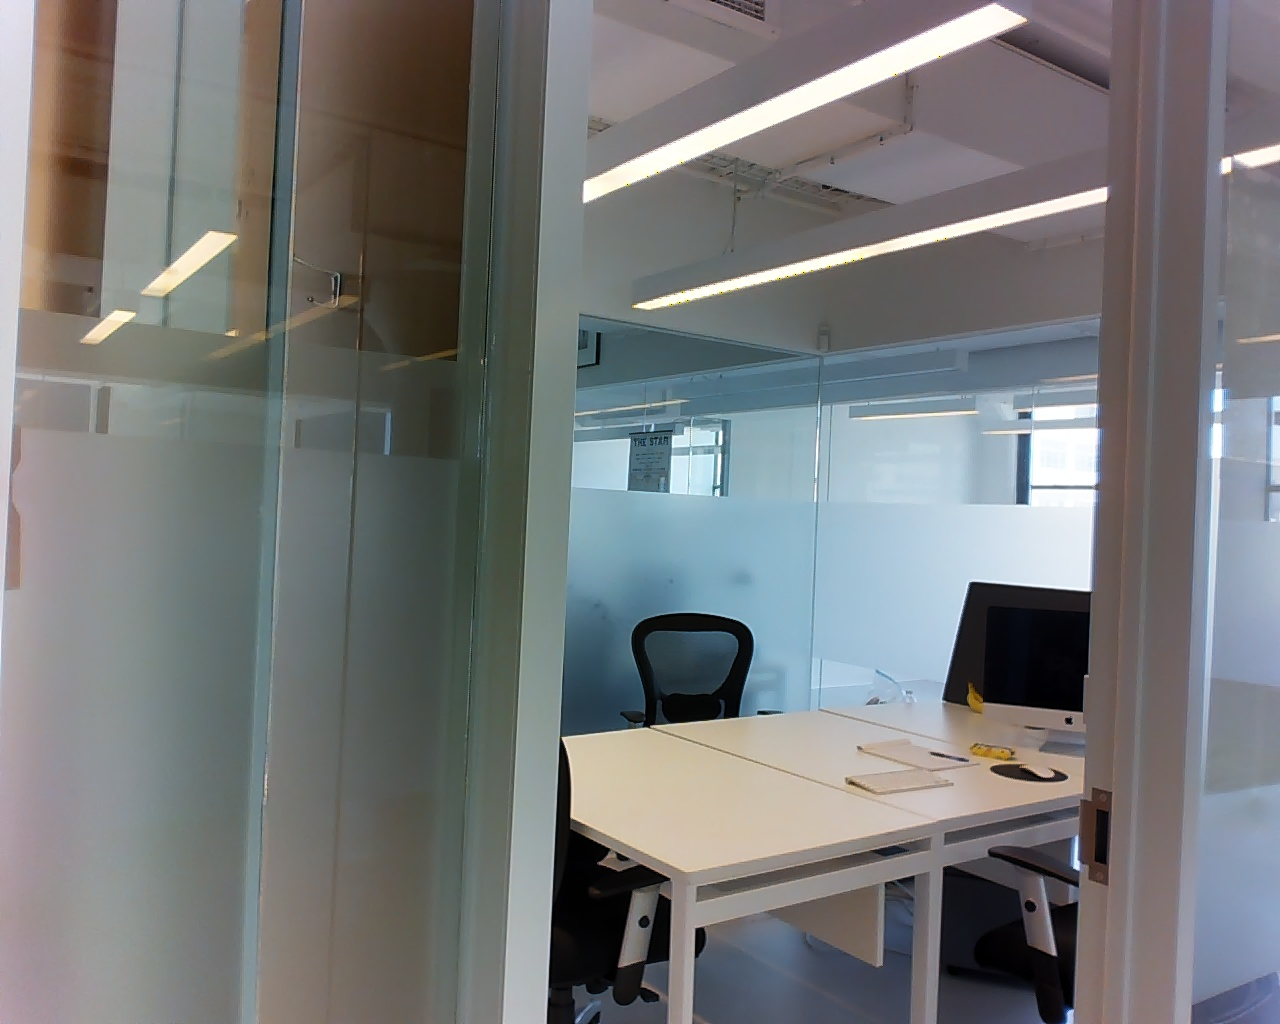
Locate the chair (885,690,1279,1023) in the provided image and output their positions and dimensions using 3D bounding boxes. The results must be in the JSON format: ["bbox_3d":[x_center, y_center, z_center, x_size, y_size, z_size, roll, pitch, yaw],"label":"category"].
[{"bbox_3d":[1.140,1.010,2.570,0.750,1.010,0.750,3,-1,-35],"label":"chair"}]

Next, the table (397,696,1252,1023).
[{"bbox_3d":[0.640,1.120,3.300,2.380,0.770,1.250,3,-1,-35],"label":"table"}]

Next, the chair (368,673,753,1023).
[{"bbox_3d":[-0.210,0.960,2.620,0.650,1.010,0.670,3,-1,-36],"label":"chair"}]
